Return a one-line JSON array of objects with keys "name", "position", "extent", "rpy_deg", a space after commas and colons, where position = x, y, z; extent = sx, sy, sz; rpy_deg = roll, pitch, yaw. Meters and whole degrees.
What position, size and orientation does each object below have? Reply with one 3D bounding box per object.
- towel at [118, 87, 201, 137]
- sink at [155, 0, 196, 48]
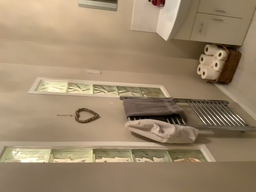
[{"name": "towel", "position": [0.210, 0.110, 1.640], "extent": [0.430, 0.510, 0.180], "rpy_deg": [-109, 25, -63]}, {"name": "sink", "position": [0.480, -0.970, 2.020], "extent": [0.500, 0.150, 0.890], "rpy_deg": [-107, 23, -61]}]
